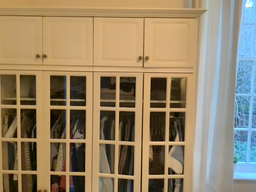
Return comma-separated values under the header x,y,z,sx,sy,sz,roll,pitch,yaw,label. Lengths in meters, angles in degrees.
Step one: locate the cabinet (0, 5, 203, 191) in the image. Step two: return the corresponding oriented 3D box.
x,y,z,sx,sy,sz,roll,pitch,yaw,label
-0.240,0.430,1.860,1.530,2.190,0.500,1,4,0,cabinet
